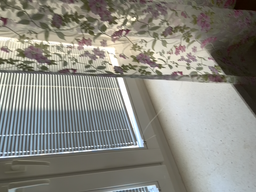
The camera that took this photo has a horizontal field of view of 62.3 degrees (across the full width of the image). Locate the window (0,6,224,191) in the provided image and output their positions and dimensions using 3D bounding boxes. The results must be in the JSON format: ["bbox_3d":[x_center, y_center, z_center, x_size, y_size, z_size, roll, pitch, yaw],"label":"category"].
[{"bbox_3d":[-0.450,0.200,0.730,0.100,1.610,1.760,114,149,-45],"label":"window"}]
